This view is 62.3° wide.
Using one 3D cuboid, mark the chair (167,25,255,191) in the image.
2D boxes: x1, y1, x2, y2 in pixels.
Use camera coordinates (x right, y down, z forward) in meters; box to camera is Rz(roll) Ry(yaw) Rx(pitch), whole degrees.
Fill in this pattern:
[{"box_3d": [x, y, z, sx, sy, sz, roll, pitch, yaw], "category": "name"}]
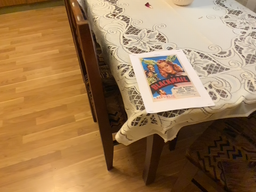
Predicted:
[{"box_3d": [0.540, 0.230, 0.830, 0.420, 0.920, 0.480, -33, 55, -28], "category": "chair"}]
